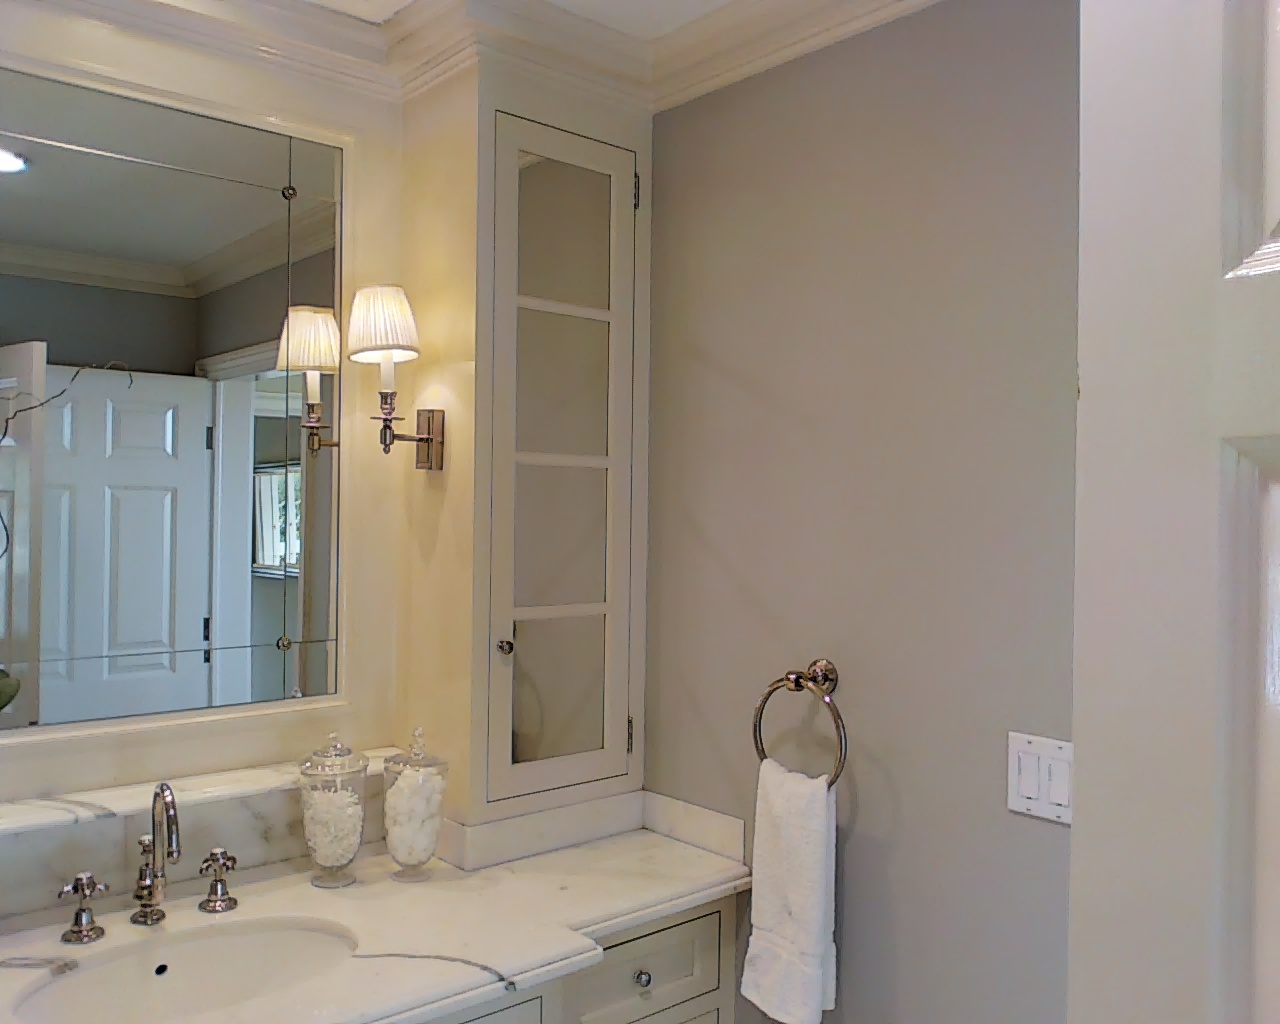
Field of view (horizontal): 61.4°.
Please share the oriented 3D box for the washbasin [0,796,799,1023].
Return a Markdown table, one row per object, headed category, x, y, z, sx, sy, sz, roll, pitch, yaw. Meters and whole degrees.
| category | x | y | z | sx | sy | sz | roll | pitch | yaw |
| --- | --- | --- | --- | --- | --- | --- | --- | --- | --- |
| washbasin | -0.610 | 0.680 | 1.530 | 1.800 | 0.120 | 0.630 | 0 | 0 | -41 |
